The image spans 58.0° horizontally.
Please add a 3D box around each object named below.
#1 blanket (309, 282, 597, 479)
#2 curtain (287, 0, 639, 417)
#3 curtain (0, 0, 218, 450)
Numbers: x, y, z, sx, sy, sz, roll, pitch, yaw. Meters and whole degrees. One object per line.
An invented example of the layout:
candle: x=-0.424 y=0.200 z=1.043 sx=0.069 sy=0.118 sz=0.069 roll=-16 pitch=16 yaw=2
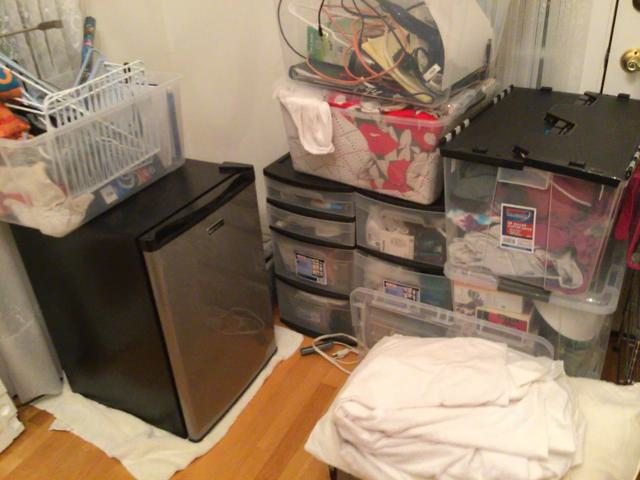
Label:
blanket: x=0.300 y=0.390 z=1.250 sx=0.460 sy=0.330 sz=0.460 roll=11 pitch=31 yaw=26
curtain: x=0.730 y=-0.300 z=1.480 sx=1.620 sy=1.520 sz=0.360 roll=11 pitch=31 yaw=26
curtain: x=-0.750 y=-0.210 z=1.670 sx=0.330 sy=1.390 sz=0.740 roll=11 pitch=31 yaw=26
